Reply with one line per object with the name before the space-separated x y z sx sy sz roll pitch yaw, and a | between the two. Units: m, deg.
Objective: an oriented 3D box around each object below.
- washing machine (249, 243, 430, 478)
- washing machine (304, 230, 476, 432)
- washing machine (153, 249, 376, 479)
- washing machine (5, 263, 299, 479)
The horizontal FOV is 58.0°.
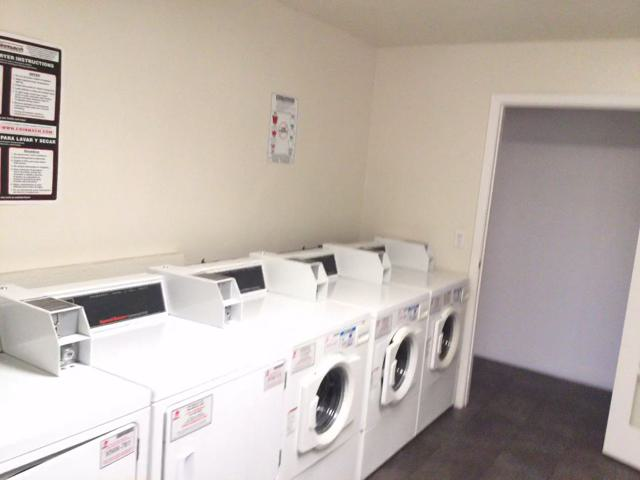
washing machine | 0.120 0.600 3.260 0.760 1.020 0.650 6 12 35
washing machine | 0.460 0.520 3.790 0.880 1.030 0.690 6 12 33
washing machine | -0.230 0.640 2.700 0.750 1.040 0.670 5 12 32
washing machine | -0.570 0.690 2.140 0.690 1.030 0.710 5 12 32
